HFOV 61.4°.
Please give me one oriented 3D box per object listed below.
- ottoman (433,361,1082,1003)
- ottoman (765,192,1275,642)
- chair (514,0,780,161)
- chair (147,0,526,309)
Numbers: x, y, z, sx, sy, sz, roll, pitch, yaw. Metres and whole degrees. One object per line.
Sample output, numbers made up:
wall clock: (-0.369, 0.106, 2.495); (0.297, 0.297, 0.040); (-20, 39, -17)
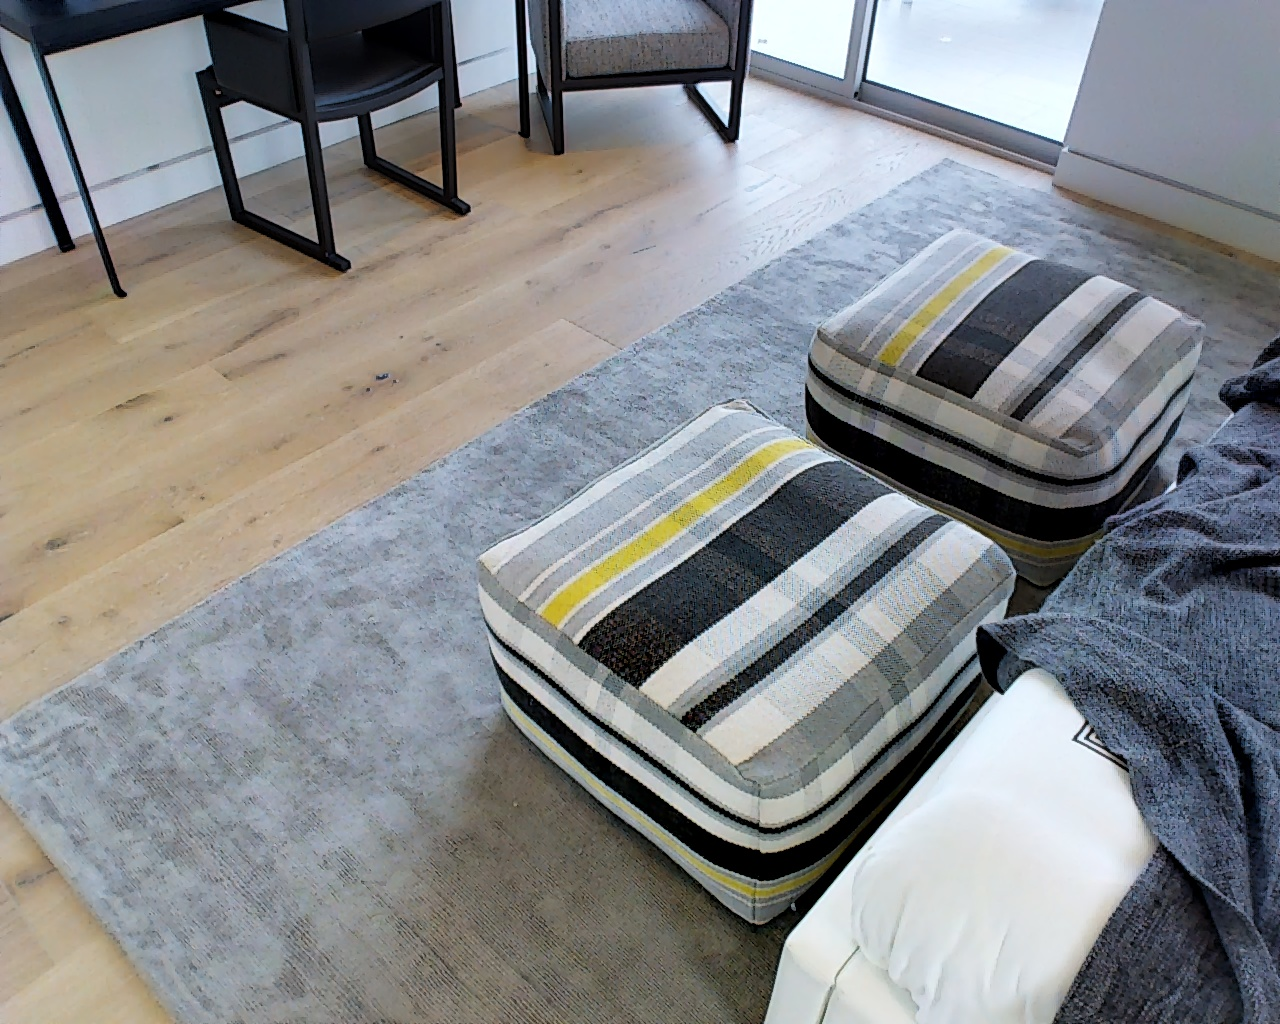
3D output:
ottoman: (0.180, 0.220, 1.800); (0.720, 0.450, 0.690); (32, 51, 29)
ottoman: (0.790, -0.250, 2.330); (0.720, 0.460, 0.690); (32, 51, 29)
chair: (-0.010, -1.750, 3.750); (0.770, 0.700, 0.770); (-7, 43, -10)
chair: (-0.830, -1.210, 3.060); (0.630, 0.870, 0.730); (32, 50, 29)
